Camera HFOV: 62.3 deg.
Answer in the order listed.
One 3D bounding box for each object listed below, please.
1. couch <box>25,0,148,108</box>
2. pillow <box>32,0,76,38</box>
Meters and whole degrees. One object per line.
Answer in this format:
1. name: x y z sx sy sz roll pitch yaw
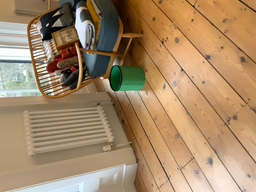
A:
1. couch: -0.640 -0.870 2.360 1.700 0.750 1.000 64 142 34
2. pillow: -0.870 -0.920 2.500 0.370 0.370 0.110 53 167 27
